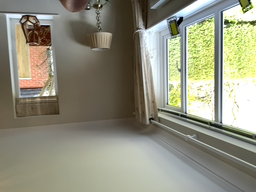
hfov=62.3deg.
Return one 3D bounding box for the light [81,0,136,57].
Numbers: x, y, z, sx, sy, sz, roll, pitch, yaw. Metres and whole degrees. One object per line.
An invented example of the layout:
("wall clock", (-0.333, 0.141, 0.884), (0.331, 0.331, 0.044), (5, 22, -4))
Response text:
("light", (-0.300, -1.200, 3.140), (0.720, 1.200, 0.380), (-3, -174, -19))
